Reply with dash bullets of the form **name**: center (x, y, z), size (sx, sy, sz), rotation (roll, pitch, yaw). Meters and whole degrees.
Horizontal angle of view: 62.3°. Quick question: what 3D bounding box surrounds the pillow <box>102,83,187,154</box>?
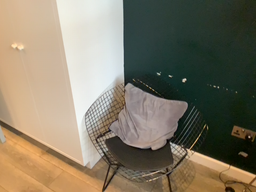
- **pillow**: center (0.150, 0.180, 1.600), size (0.470, 0.460, 0.270), rotation (17, 72, 28)
